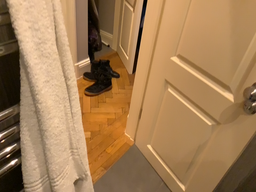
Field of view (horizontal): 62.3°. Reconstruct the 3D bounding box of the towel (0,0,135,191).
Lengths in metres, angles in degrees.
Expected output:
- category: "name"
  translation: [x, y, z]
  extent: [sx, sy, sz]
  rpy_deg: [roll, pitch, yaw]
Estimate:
- category: "towel"
  translation: [-0.240, 0.260, 0.630]
  extent: [0.180, 1.220, 0.400]
  rpy_deg: [30, 43, 25]
